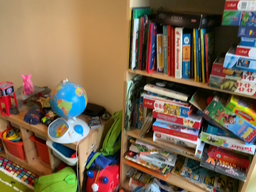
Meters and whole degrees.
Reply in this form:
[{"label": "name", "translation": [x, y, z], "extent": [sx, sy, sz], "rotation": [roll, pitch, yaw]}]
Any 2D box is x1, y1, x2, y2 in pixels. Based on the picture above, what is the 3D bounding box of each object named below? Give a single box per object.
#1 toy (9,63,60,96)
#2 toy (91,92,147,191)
[{"label": "toy", "translation": [-0.820, -0.160, 1.900], "extent": [0.210, 0.160, 0.360], "rotation": [15, 27, 21]}, {"label": "toy", "translation": [-0.070, 0.360, 1.780], "extent": [0.240, 0.630, 0.480], "rotation": [15, 27, 22]}]
